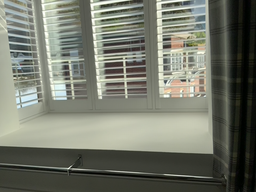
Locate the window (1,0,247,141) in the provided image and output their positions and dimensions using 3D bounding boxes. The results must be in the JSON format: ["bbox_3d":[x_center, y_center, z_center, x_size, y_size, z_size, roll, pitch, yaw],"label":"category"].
[{"bbox_3d":[-0.100,-0.550,1.800,1.910,1.750,0.350,-1,-171,14],"label":"window"}]
